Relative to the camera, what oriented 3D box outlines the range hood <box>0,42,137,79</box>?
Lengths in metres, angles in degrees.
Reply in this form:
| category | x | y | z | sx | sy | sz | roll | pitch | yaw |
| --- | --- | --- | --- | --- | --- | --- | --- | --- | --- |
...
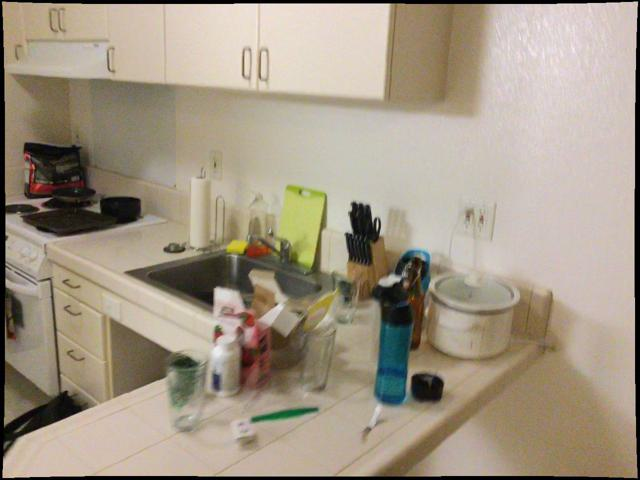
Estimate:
| category | x | y | z | sx | sy | sz | roll | pitch | yaw |
| --- | --- | --- | --- | --- | --- | --- | --- | --- | --- |
| range hood | -1.129 | -0.781 | 2.490 | 0.920 | 0.110 | 0.180 | 17 | 21 | 38 |
